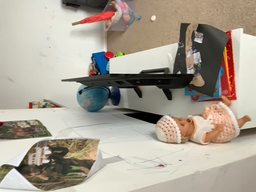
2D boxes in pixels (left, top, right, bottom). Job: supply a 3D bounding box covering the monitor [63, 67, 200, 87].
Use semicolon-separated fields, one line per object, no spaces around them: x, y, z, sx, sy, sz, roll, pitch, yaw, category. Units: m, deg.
-0.040;-0.090;1.200;0.720;0.460;0.060;3;93;58;monitor
